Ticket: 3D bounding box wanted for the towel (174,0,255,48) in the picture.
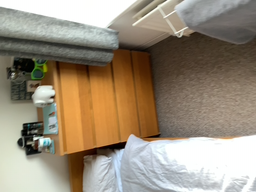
[{"bbox_3d":[0.600,-0.420,1.080,0.470,0.540,0.130,-15,80,51],"label":"towel"}]
